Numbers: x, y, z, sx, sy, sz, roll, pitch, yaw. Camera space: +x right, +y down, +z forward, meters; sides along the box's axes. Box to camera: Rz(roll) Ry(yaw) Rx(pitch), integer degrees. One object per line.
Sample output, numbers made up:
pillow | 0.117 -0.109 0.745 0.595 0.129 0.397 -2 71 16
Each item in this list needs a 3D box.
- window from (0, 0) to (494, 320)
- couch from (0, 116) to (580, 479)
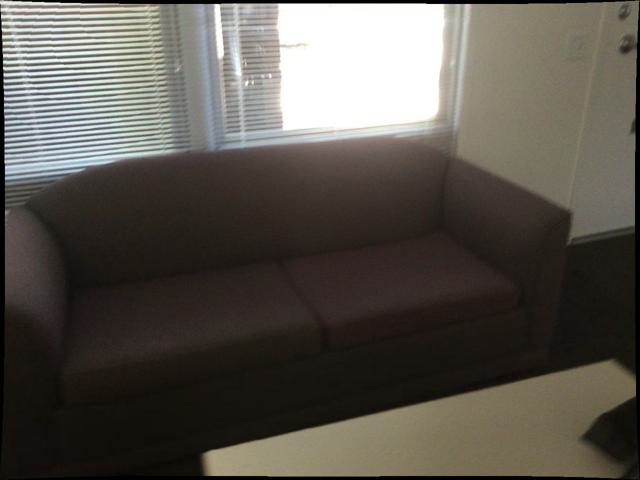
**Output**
window | -0.499 -0.821 2.190 2.377 1.993 0.470 -9 27 -17
couch | -0.170 0.110 2.130 1.797 0.771 0.930 -9 27 -17
